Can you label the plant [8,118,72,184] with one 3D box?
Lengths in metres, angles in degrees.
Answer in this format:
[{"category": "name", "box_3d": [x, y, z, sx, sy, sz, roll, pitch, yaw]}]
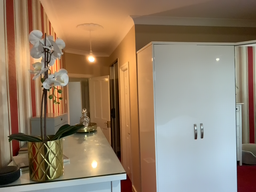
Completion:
[{"category": "plant", "box_3d": [-0.330, 0.200, 0.830, 0.200, 0.200, 0.150, -2, 2, -13]}]
